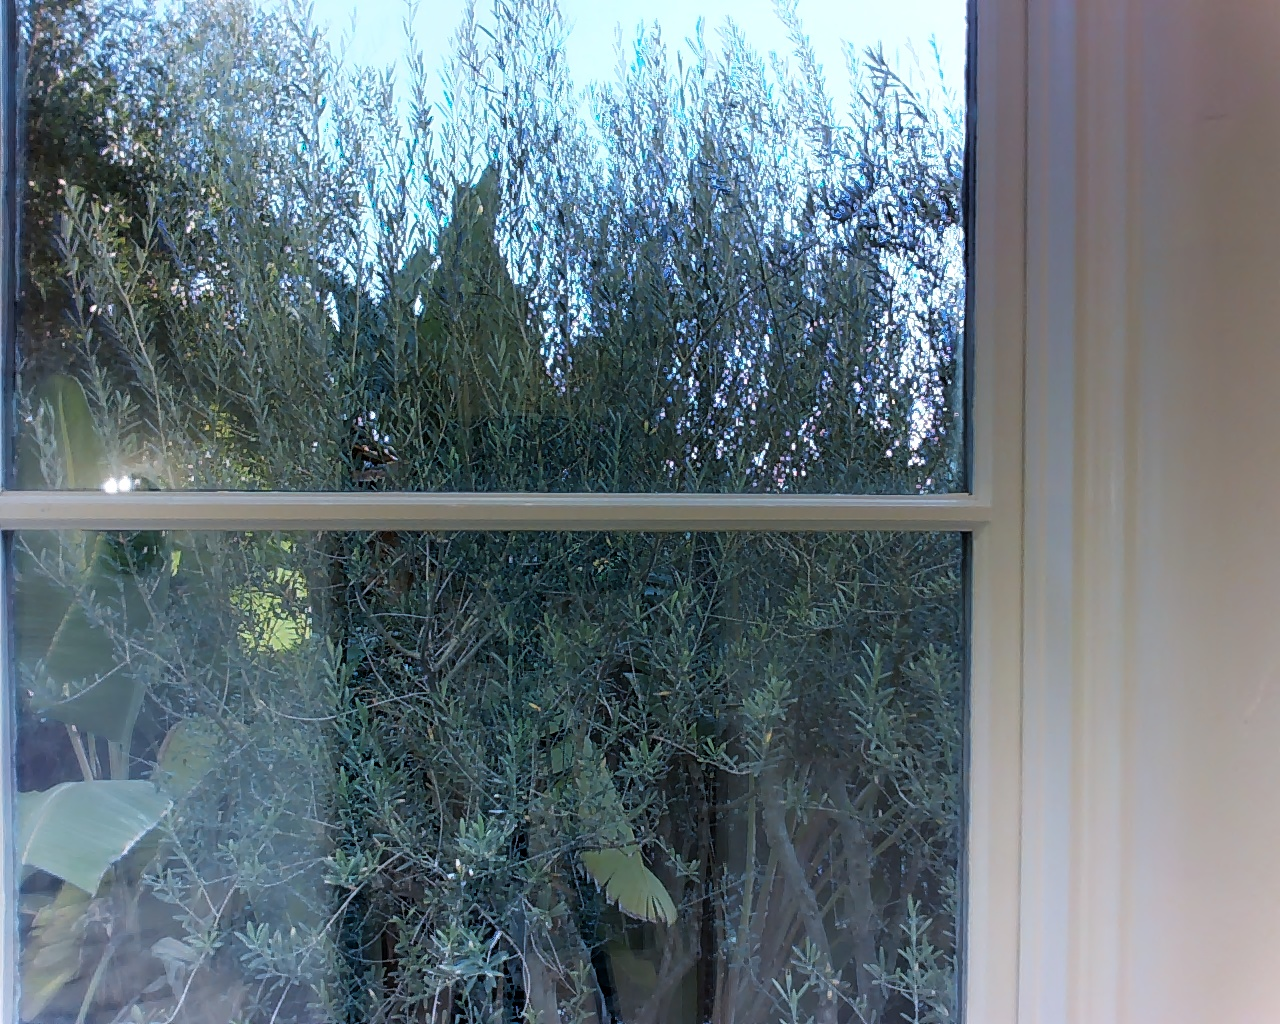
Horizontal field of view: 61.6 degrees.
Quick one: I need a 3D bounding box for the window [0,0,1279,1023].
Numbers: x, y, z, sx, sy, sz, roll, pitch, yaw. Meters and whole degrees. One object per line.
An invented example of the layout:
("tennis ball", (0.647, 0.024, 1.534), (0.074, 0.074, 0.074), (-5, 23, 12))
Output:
("window", (-0.090, 0.070, 0.610), (0.840, 1.621, 0.180), (-1, 0, -5))
